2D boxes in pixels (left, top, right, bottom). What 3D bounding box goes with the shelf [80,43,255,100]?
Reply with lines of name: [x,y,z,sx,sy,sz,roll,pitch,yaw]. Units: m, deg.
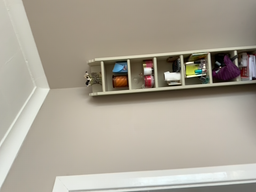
shelf: [0.680,-0.200,1.490,0.230,1.960,0.230,-94,0,-56]
